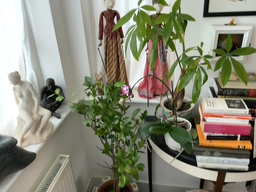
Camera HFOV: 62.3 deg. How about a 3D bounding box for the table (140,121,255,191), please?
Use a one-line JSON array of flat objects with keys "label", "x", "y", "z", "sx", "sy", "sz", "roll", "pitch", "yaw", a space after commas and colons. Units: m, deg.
[{"label": "table", "x": 0.500, "y": 0.580, "z": 1.350, "sx": 0.810, "sy": 0.710, "sz": 0.410, "roll": 0, "pitch": 26, "yaw": 7}]
